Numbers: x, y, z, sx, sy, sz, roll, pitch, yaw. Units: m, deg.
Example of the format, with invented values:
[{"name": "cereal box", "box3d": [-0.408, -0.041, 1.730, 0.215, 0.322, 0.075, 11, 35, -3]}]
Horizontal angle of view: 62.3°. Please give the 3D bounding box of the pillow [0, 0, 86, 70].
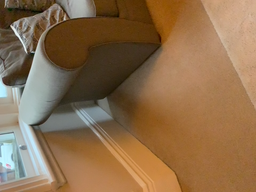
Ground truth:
[{"name": "pillow", "box3d": [-0.620, -0.490, 1.500, 0.480, 0.420, 0.100, 45, 145, -5]}]
